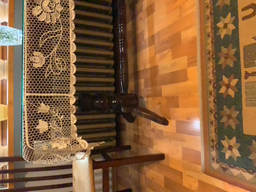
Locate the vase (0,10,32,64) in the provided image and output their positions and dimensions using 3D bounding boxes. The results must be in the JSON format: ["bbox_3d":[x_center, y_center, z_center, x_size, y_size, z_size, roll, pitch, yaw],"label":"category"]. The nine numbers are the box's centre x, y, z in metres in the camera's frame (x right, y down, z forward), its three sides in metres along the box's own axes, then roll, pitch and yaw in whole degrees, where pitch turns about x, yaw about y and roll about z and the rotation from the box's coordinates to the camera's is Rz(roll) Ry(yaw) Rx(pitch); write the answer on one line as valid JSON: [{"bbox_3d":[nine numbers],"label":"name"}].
[{"bbox_3d":[-0.760,-0.330,1.220,0.310,0.370,0.210,172,97,-64],"label":"vase"}]
